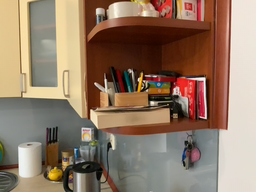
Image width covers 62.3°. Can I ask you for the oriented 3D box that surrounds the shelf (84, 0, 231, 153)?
[{"bbox_3d":[0.050,-0.270,0.550,0.280,0.730,0.280,-1,4,-21],"label":"shelf"}]
